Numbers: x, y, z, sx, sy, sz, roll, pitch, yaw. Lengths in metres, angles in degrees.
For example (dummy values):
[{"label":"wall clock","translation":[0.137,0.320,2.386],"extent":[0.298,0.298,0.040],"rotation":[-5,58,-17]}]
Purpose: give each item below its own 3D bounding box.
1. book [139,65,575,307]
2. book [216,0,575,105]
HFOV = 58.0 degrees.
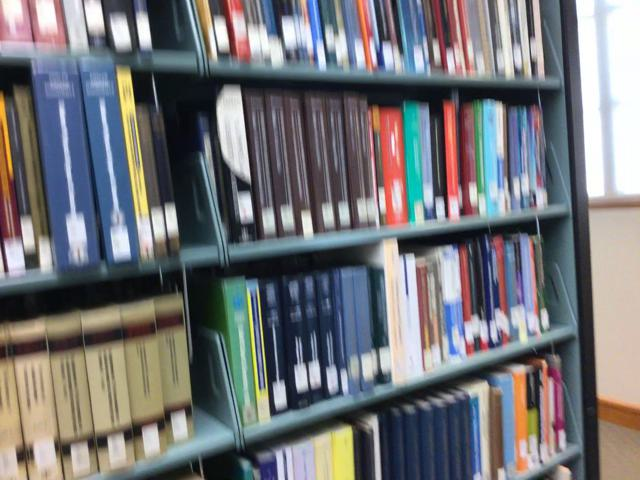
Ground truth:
[{"label":"book","translation":[0.140,-0.150,1.220],"extent":[0.920,0.360,0.230],"rotation":[-12,4,-33]},{"label":"book","translation":[0.200,-0.460,1.140],"extent":[0.850,0.330,0.070],"rotation":[-12,4,-33]}]
